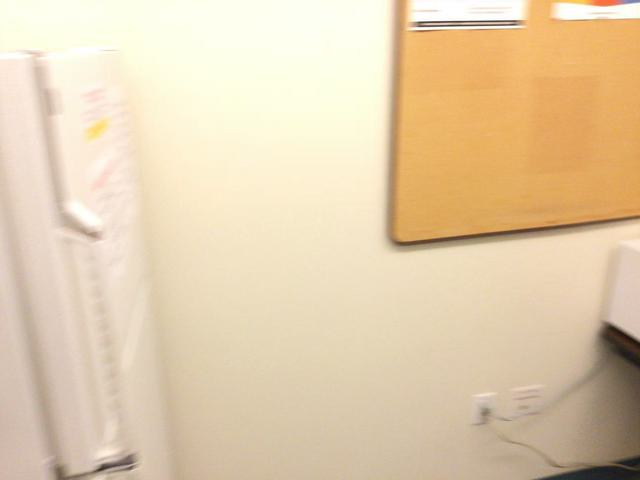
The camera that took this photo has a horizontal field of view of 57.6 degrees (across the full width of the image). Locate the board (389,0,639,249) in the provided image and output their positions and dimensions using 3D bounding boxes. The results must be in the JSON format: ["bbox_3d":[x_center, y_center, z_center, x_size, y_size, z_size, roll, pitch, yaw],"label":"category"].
[{"bbox_3d":[0.770,-0.450,1.590,1.150,0.890,0.100,-4,20,-11],"label":"board"}]
